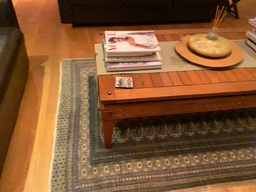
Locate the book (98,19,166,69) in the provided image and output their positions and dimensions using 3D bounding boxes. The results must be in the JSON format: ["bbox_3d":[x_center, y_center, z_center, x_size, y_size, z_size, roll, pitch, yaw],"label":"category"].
[{"bbox_3d":[0.000,-0.310,1.220,0.330,0.120,0.350,-3,43,-8],"label":"book"}]
